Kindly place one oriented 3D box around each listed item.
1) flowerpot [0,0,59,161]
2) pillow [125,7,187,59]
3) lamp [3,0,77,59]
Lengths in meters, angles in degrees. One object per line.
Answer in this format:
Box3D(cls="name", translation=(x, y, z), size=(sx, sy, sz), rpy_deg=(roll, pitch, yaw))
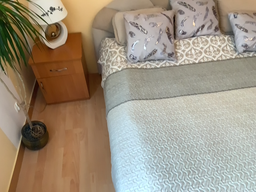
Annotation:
Box3D(cls="flowerpot", translation=(-0.730, -0.170, 1.330), size=(0.260, 1.220, 0.550), rpy_deg=(-8, 44, -7))
Box3D(cls="pillow", translation=(0.200, -0.520, 1.710), size=(0.390, 0.220, 0.370), rpy_deg=(-8, 44, -7))
Box3D(cls="lamp", translation=(-0.680, -0.590, 1.750), size=(0.420, 0.390, 0.360), rpy_deg=(-6, 44, -5))
